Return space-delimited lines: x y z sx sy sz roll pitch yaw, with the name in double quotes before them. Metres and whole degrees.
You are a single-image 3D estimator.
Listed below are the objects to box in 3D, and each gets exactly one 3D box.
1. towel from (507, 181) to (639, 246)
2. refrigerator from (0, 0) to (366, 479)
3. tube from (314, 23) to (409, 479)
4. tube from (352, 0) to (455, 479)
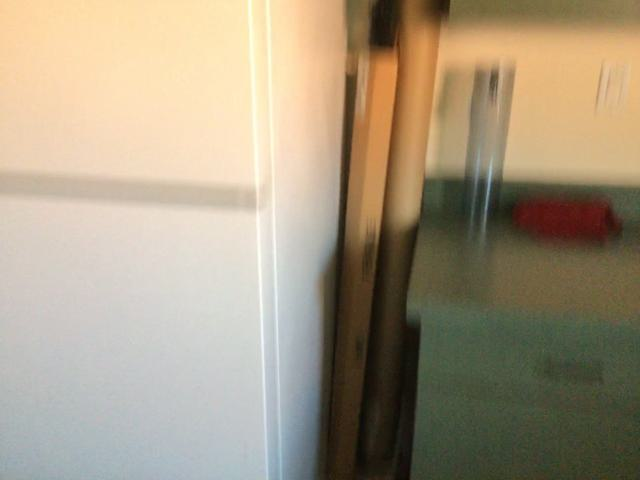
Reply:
"towel" 0.610 -0.070 1.410 0.280 0.060 0.210 6 25 12
"refrigerator" -0.370 0.060 1.320 0.800 1.620 0.810 5 25 10
"tube" 0.100 0.130 1.570 0.150 1.330 0.300 6 25 12
"tube" 0.220 -0.200 1.490 0.160 1.930 0.260 6 25 12
